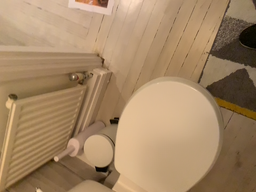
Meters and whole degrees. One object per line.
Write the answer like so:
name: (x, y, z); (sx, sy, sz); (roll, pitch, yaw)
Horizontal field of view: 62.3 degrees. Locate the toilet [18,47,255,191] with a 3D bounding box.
toilet: (0.090, 0.250, 0.830); (0.510, 0.780, 0.690); (26, 108, 14)
